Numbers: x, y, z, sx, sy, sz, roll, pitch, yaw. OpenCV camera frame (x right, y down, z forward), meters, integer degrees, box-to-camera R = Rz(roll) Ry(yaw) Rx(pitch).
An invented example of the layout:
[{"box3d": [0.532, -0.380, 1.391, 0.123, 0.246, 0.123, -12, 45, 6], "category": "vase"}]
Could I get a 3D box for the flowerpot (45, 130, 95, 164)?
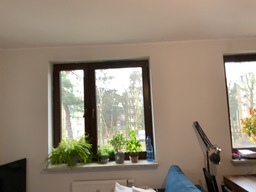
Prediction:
[{"box3d": [-0.820, 0.720, 3.050, 0.610, 0.420, 0.330, -3, -5, 8], "category": "flowerpot"}]
